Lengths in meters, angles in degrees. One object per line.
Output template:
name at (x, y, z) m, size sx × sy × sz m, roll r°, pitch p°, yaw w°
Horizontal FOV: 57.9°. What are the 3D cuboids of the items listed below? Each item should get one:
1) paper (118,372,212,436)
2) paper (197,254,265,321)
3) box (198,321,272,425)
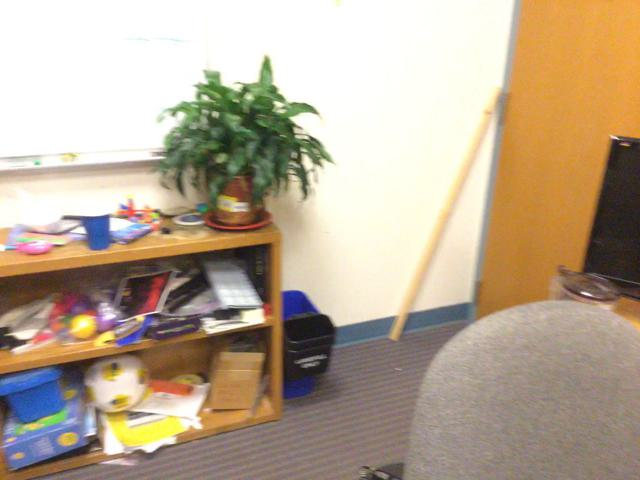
paper at (-0.540, 0.570, 2.040) m, size 0.200 × 0.040 × 0.280 m, roll 7°, pitch 19°, yaw 17°
paper at (-0.300, 0.150, 1.920) m, size 0.160 × 0.110 × 0.270 m, roll -6°, pitch 20°, yaw -21°
box at (-0.310, 0.470, 2.090) m, size 0.200 × 0.240 × 0.260 m, roll -6°, pitch 20°, yaw -21°
